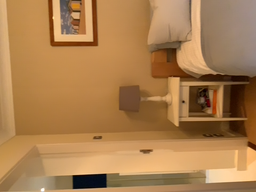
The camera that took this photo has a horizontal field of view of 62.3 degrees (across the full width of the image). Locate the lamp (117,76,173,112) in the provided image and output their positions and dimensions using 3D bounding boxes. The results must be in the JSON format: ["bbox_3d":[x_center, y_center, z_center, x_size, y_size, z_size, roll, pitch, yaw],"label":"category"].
[{"bbox_3d":[0.160,-0.030,2.160,0.250,0.530,0.330,-116,26,-81],"label":"lamp"}]
